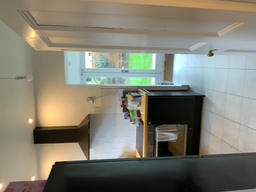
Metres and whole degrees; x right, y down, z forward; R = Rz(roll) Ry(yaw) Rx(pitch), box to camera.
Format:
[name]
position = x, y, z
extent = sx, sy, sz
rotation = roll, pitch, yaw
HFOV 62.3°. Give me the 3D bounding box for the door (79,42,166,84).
[door]
position = -0.110, -0.730, 4.790
extent = 0.060, 1.940, 0.880
rotation = -136, 47, -77
